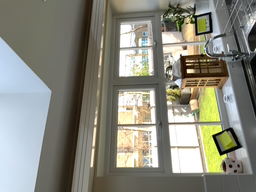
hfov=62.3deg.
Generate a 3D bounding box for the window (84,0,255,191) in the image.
[{"bbox_3d":[0.290,-0.110,1.960,0.280,1.190,1.910,78,-169,-65],"label":"window"}]
